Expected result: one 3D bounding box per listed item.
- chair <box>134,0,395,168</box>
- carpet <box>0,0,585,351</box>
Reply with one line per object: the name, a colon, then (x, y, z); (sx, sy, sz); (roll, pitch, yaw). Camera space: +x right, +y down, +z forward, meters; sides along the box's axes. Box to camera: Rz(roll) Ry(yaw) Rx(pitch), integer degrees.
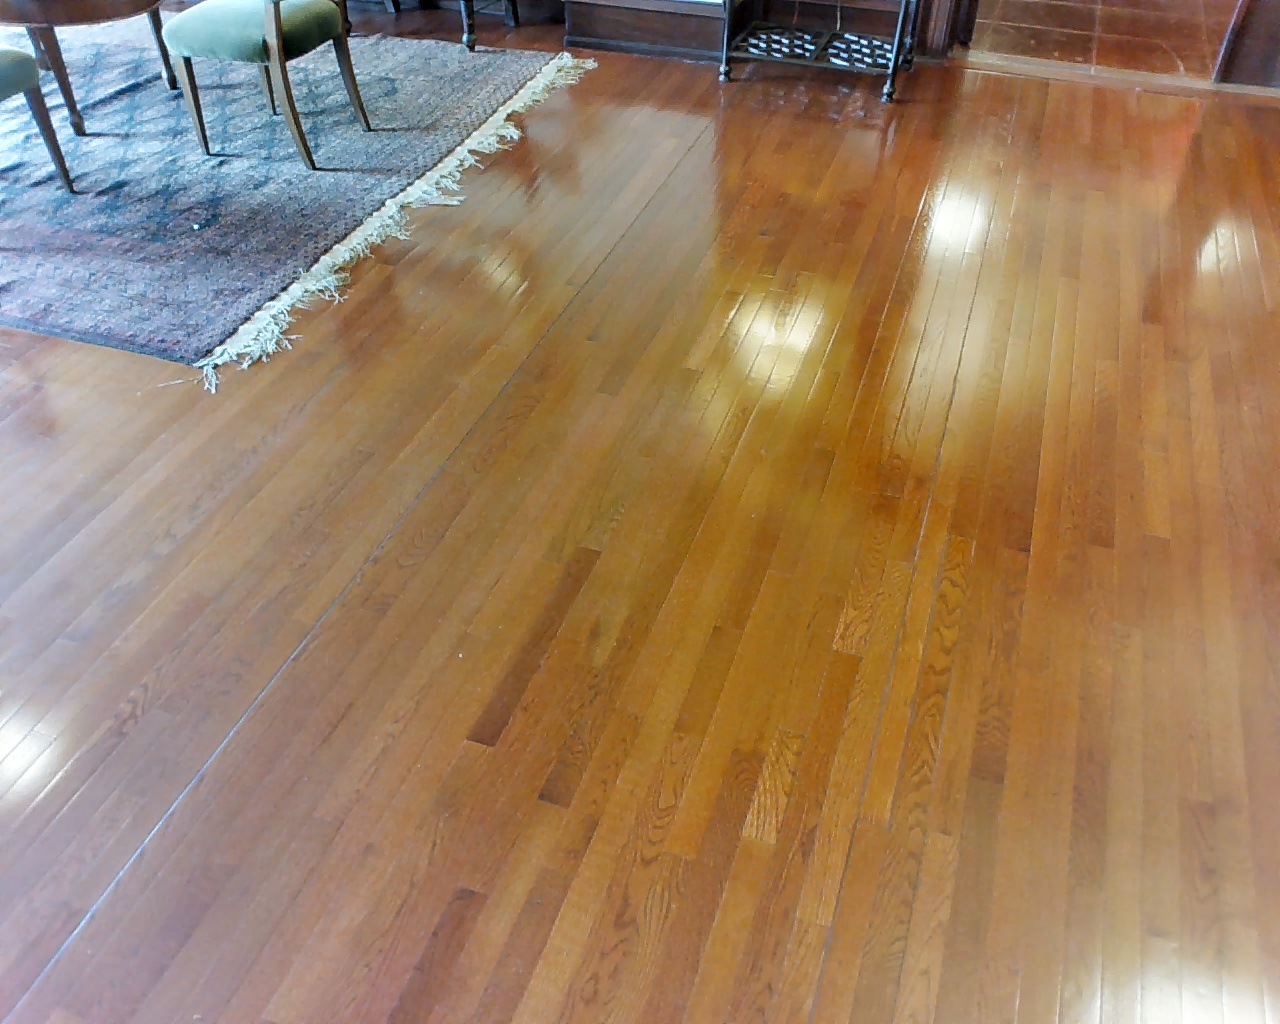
chair: (-1.300, -1.730, 3.710); (0.590, 0.820, 0.540); (13, 43, 14)
carpet: (-2.380, -1.610, 4.220); (3.680, 0.020, 2.480); (13, 43, 14)
